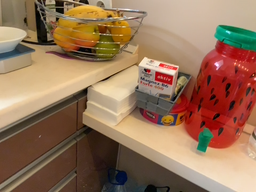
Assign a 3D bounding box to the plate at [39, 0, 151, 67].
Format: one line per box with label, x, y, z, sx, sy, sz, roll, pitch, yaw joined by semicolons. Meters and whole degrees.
plate;-0.090;-0.220;0.670;0.200;0.140;0.280;23;32;25
